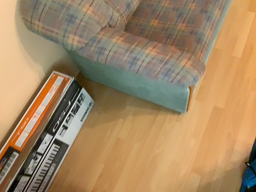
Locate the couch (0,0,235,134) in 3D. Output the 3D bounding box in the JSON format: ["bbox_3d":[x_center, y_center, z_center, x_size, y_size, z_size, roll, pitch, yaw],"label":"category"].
[{"bbox_3d":[0.240,-0.800,1.430,0.940,0.870,1.690,21,71,19],"label":"couch"}]
